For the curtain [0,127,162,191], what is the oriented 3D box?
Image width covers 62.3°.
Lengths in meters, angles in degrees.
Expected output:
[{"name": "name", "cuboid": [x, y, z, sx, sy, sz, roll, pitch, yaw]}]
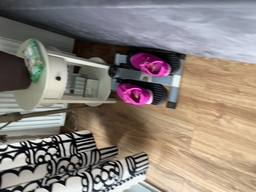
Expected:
[{"name": "curtain", "cuboid": [-0.840, 0.390, 0.600, 0.710, 2.540, 0.200, 14, 97, 37]}]

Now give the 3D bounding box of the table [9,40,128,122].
[{"name": "table", "cuboid": [-0.360, -0.090, 1.390, 0.370, 0.600, 0.380, 17, 99, 36]}]
